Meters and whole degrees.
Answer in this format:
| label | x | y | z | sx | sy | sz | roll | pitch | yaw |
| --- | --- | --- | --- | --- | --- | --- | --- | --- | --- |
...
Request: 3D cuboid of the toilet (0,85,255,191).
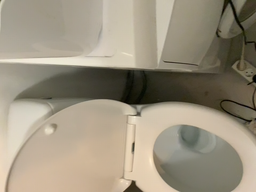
| label | x | y | z | sx | sy | sz | roll | pitch | yaw |
| --- | --- | --- | --- | --- | --- | --- | --- | --- | --- |
| toilet | 0.120 | 0.200 | 0.740 | 0.620 | 0.810 | 0.370 | 10 | 100 | 26 |
